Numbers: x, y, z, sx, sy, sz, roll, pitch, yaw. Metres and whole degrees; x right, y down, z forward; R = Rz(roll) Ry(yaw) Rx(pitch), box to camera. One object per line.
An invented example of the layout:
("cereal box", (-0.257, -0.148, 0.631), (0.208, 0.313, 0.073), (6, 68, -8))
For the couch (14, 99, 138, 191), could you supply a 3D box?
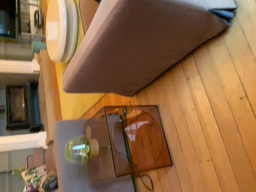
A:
("couch", (-0.920, 1.000, 2.760), (2.420, 0.800, 1.130), (-36, 61, 52))
